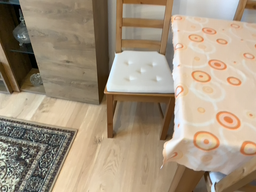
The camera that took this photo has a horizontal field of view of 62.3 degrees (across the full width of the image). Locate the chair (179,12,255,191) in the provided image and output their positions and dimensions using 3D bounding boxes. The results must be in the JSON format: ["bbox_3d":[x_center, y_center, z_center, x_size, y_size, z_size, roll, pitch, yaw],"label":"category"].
[{"bbox_3d":[0.520,0.270,0.890,0.350,1.020,0.480,7,43,3],"label":"chair"}]
